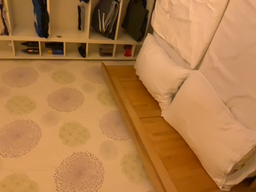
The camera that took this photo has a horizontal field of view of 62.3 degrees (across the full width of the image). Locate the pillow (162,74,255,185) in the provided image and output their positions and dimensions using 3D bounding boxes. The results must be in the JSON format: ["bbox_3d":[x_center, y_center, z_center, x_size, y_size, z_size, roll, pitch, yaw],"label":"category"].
[{"bbox_3d":[0.450,0.170,1.300,0.580,0.140,0.360,-120,33,-47],"label":"pillow"}]

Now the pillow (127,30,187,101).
[{"bbox_3d":[0.210,-0.280,1.800,0.580,0.190,0.360,-120,33,-48],"label":"pillow"}]

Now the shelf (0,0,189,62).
[{"bbox_3d":[-0.390,-0.850,2.030,0.270,2.030,1.020,-118,32,-46],"label":"shelf"}]
